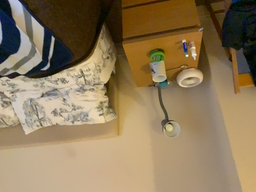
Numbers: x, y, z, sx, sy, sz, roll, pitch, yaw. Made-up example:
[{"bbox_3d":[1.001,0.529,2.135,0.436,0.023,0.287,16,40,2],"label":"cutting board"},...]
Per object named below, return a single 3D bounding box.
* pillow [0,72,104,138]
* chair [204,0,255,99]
[{"bbox_3d":[-0.560,0.080,1.470,0.700,0.410,0.110,-5,-150,10],"label":"pillow"},{"bbox_3d":[0.750,-0.460,1.130,0.470,0.520,0.760,-7,-116,9],"label":"chair"}]
